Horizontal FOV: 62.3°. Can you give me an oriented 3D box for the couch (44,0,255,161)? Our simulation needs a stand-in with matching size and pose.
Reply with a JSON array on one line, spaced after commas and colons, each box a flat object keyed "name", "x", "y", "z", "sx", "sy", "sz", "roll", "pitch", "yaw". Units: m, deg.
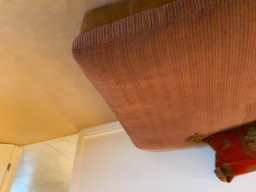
[{"name": "couch", "x": 0.420, "y": -0.110, "z": 1.290, "sx": 1.180, "sy": 0.420, "sz": 1.200, "roll": -15, "pitch": 139, "yaw": 18}]
